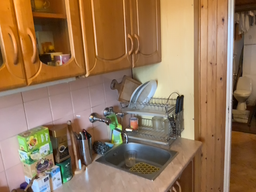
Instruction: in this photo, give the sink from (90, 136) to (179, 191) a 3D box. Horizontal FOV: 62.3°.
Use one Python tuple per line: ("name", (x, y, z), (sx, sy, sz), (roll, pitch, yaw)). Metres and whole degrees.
("sink", (0.060, 0.470, 1.460), (0.450, 0.160, 0.420), (5, 15, 34))
